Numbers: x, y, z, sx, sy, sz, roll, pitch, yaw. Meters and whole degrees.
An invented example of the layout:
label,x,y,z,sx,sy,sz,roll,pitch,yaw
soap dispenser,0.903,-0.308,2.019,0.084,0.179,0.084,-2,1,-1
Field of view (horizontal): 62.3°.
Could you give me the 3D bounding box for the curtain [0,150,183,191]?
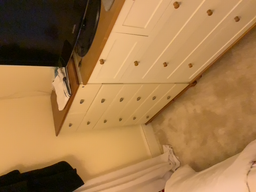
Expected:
label,x,y,z,sx,sy,sz,roll,pitch,yaw
curtain,-0.500,0.790,1.620,0.200,2.140,0.340,-51,50,49
